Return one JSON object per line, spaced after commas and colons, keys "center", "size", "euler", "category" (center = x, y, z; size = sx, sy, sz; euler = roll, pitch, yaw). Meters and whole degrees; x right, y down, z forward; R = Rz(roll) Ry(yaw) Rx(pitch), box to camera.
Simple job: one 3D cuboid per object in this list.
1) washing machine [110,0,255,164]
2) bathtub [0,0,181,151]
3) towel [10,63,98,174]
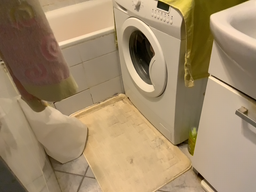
{"center": [0.300, -0.210, 1.300], "size": [0.490, 0.940, 0.660], "euler": [-23, 43, -19], "category": "washing machine"}
{"center": [-0.390, -0.310, 1.650], "size": [1.390, 0.560, 0.710], "euler": [-24, 43, -20], "category": "bathtub"}
{"center": [-0.400, 0.130, 1.210], "size": [0.280, 0.490, 0.300], "euler": [-24, 43, -20], "category": "towel"}
